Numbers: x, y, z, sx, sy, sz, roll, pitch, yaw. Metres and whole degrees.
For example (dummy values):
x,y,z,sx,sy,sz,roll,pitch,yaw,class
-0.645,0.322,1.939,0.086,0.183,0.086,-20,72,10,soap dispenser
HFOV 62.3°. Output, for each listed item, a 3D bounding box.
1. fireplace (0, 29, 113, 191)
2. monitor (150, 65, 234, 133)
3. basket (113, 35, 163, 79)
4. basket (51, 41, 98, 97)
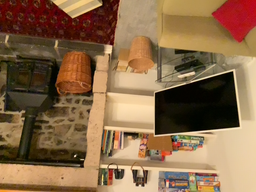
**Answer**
x,y,z,sx,sy,sz,roll,pitch,yaw,class
-1.280,0.200,2.520,2.030,1.710,0.800,5,161,-7,fireplace
0.560,0.070,2.100,0.050,0.510,0.880,18,156,-38,monitor
0.100,-0.460,2.640,0.500,0.260,0.540,5,161,-9,basket
-0.620,-0.310,2.580,0.460,0.490,0.450,5,161,-8,basket
